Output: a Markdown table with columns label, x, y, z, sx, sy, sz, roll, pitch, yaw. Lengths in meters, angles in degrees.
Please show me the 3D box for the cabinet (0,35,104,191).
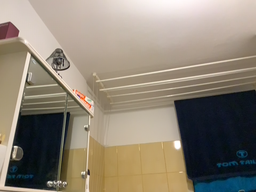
| label | x | y | z | sx | sy | sz | roll | pitch | yaw |
| --- | --- | --- | --- | --- | --- | --- | --- | --- | --- |
| cabinet | -0.300 | 0.190 | 0.920 | 0.170 | 0.440 | 0.790 | -8 | -27 | 9 |
